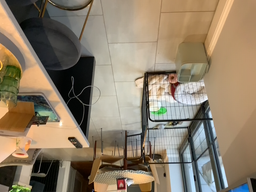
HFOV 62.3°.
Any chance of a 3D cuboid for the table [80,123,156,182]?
[{"bbox_3d":[-0.100,1.130,4.020,1.200,0.720,1.230,-4,149,5],"label":"table"}]
